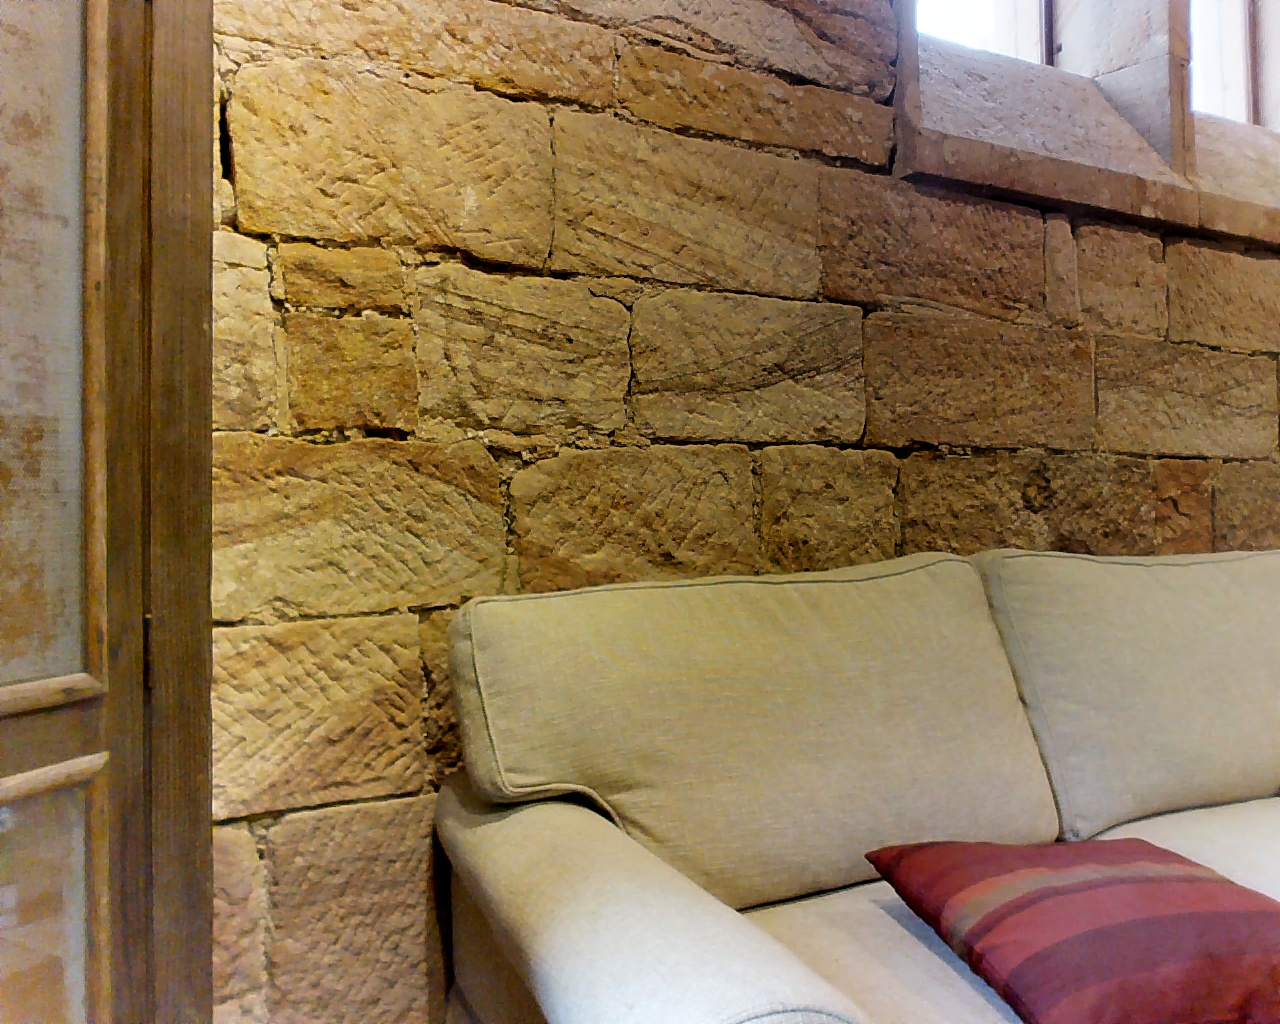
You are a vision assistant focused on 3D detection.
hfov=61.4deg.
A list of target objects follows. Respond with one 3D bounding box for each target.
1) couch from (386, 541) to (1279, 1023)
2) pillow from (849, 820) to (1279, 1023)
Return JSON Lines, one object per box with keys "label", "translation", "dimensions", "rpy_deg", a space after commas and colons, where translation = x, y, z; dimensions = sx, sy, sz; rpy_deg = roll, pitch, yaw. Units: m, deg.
{"label": "couch", "translation": [0.820, 0.600, 1.750], "dimensions": [2.219, 1.030, 1.040], "rpy_deg": [0, 1, -26]}
{"label": "pillow", "translation": [0.610, 0.540, 1.390], "dimensions": [0.530, 0.120, 0.450], "rpy_deg": [0, 1, -14]}
